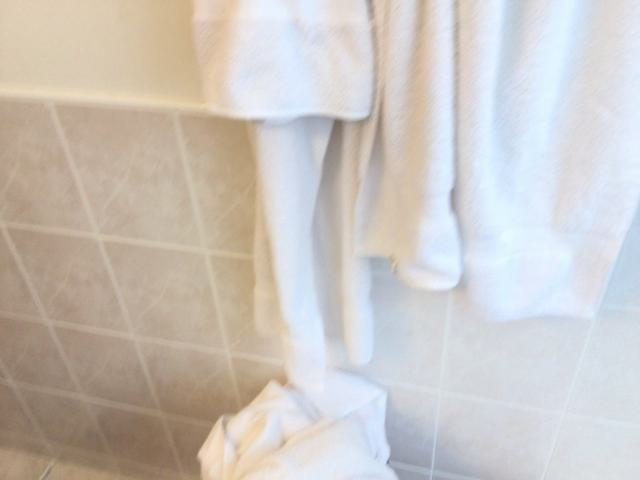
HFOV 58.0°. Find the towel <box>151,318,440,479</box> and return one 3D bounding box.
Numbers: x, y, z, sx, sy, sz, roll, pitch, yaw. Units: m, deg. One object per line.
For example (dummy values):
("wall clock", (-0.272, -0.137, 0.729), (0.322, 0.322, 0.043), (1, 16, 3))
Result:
("towel", (-0.020, 0.400, 0.930), (0.360, 0.310, 0.390), (7, 39, 13))

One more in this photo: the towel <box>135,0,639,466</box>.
("towel", (0.100, -0.130, 0.620), (0.500, 0.890, 0.170), (7, 39, 13))
